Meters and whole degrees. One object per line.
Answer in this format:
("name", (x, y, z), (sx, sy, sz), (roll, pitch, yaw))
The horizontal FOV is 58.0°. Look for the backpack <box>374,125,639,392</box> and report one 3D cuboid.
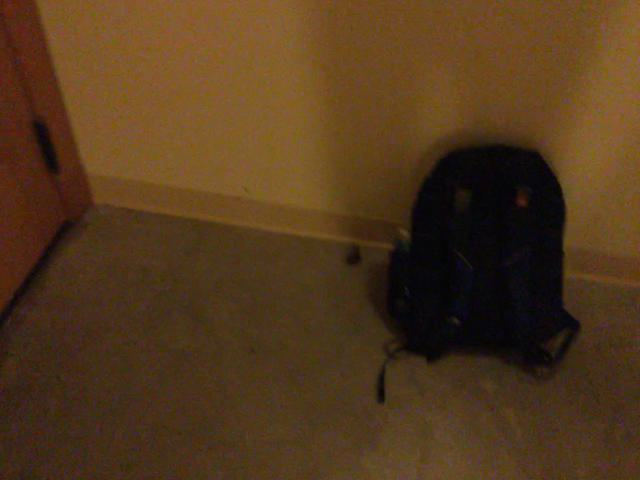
("backpack", (0.380, 0.040, 1.290), (0.430, 0.440, 0.290), (11, 38, 6))
